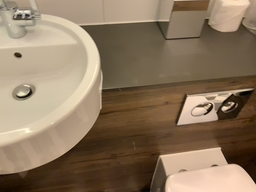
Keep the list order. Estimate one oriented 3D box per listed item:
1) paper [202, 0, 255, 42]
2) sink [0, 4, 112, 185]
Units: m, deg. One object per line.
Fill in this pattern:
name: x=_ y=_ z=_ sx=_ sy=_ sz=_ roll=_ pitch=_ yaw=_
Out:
paper: x=0.360 y=-0.280 z=0.760 sx=0.120 sy=0.120 sz=0.110 roll=-3 pitch=48 yaw=-7
sink: x=-0.310 y=-0.040 z=0.590 sx=0.470 sy=0.200 sz=0.490 roll=-6 pitch=48 yaw=-8
